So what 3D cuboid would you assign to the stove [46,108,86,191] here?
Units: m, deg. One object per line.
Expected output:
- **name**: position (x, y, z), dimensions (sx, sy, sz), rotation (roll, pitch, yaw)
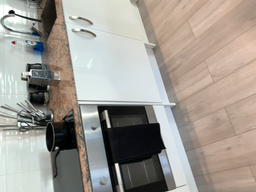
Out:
- **stove**: position (-0.420, 0.450, 1.370), dimensions (0.550, 0.020, 0.580), rotation (-38, 58, 46)
